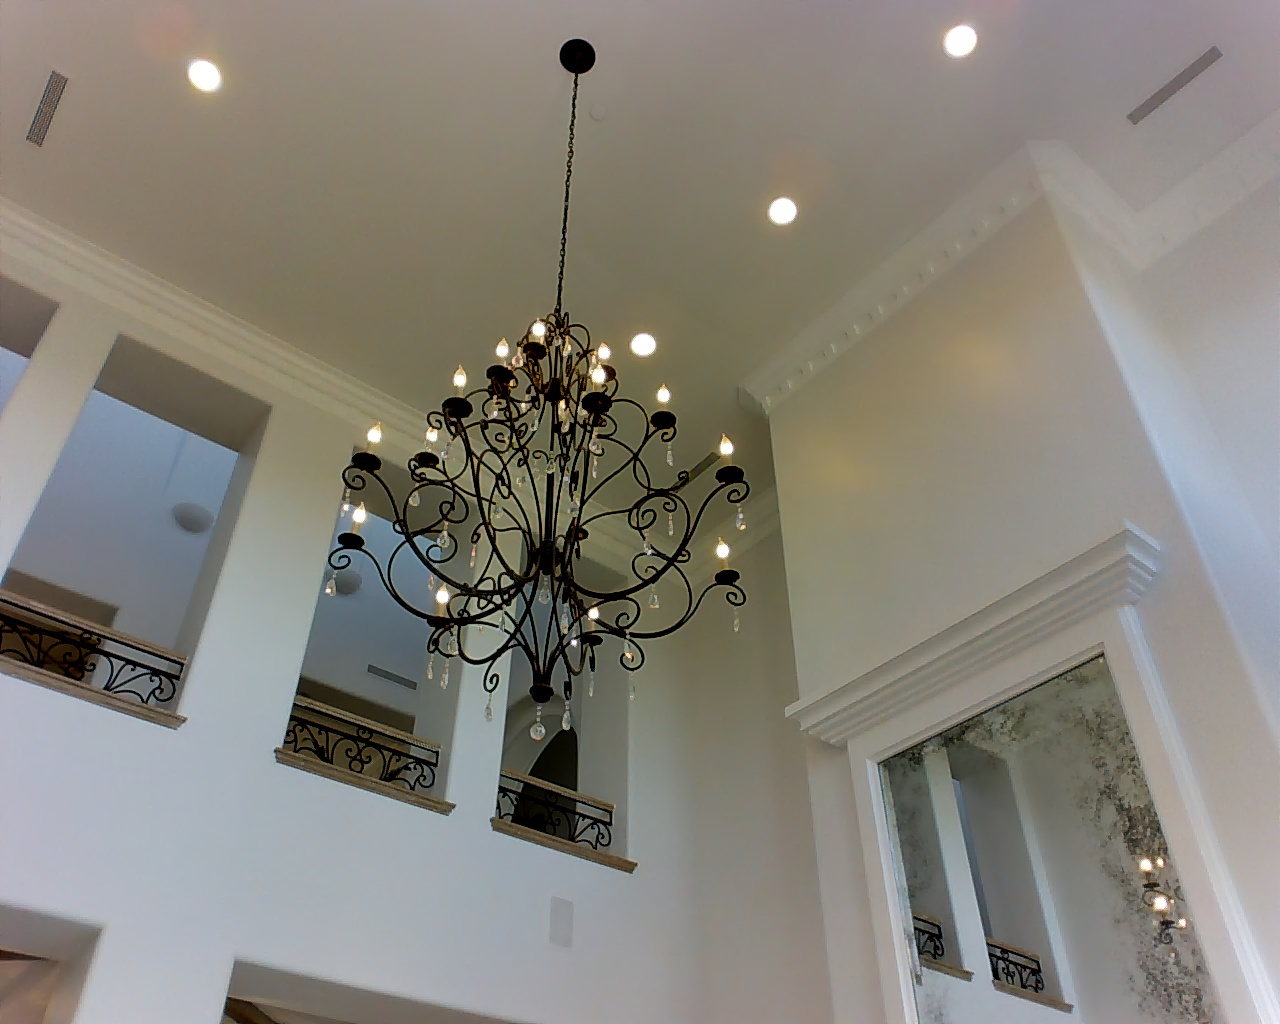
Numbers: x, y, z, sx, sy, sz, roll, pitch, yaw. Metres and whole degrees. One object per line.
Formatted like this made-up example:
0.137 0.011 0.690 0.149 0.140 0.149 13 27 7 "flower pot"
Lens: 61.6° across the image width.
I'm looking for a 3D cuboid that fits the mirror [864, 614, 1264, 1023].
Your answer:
1.489 1.681 3.900 0.060 2.411 1.350 26 -47 -27 "mirror"
